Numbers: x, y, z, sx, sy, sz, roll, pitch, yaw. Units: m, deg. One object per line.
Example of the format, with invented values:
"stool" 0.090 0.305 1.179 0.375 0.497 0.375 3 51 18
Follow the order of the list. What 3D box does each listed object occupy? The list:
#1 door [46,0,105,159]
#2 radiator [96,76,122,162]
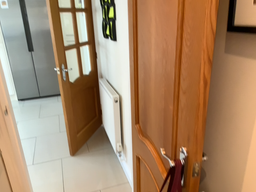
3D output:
"door" -0.530 -0.390 2.400 0.100 2.070 0.780 6 22 17
"radiator" -0.210 0.200 2.230 0.100 0.670 0.680 -7 22 -14
